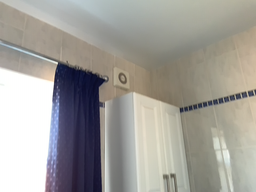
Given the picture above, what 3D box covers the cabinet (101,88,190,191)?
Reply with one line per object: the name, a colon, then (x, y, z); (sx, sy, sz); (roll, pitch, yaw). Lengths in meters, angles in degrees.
cabinet: (0.140, 0.400, 1.620); (0.320, 0.730, 0.620); (-19, -25, 39)
